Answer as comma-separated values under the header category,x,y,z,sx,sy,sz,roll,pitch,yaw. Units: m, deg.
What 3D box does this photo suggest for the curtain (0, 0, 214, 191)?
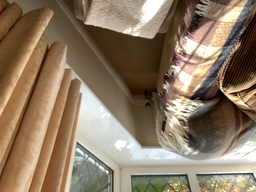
category,x,y,z,sx,sy,sz,roll,pitch,yaw
curtain,-0.290,0.180,0.350,0.600,2.400,0.990,-29,129,22
